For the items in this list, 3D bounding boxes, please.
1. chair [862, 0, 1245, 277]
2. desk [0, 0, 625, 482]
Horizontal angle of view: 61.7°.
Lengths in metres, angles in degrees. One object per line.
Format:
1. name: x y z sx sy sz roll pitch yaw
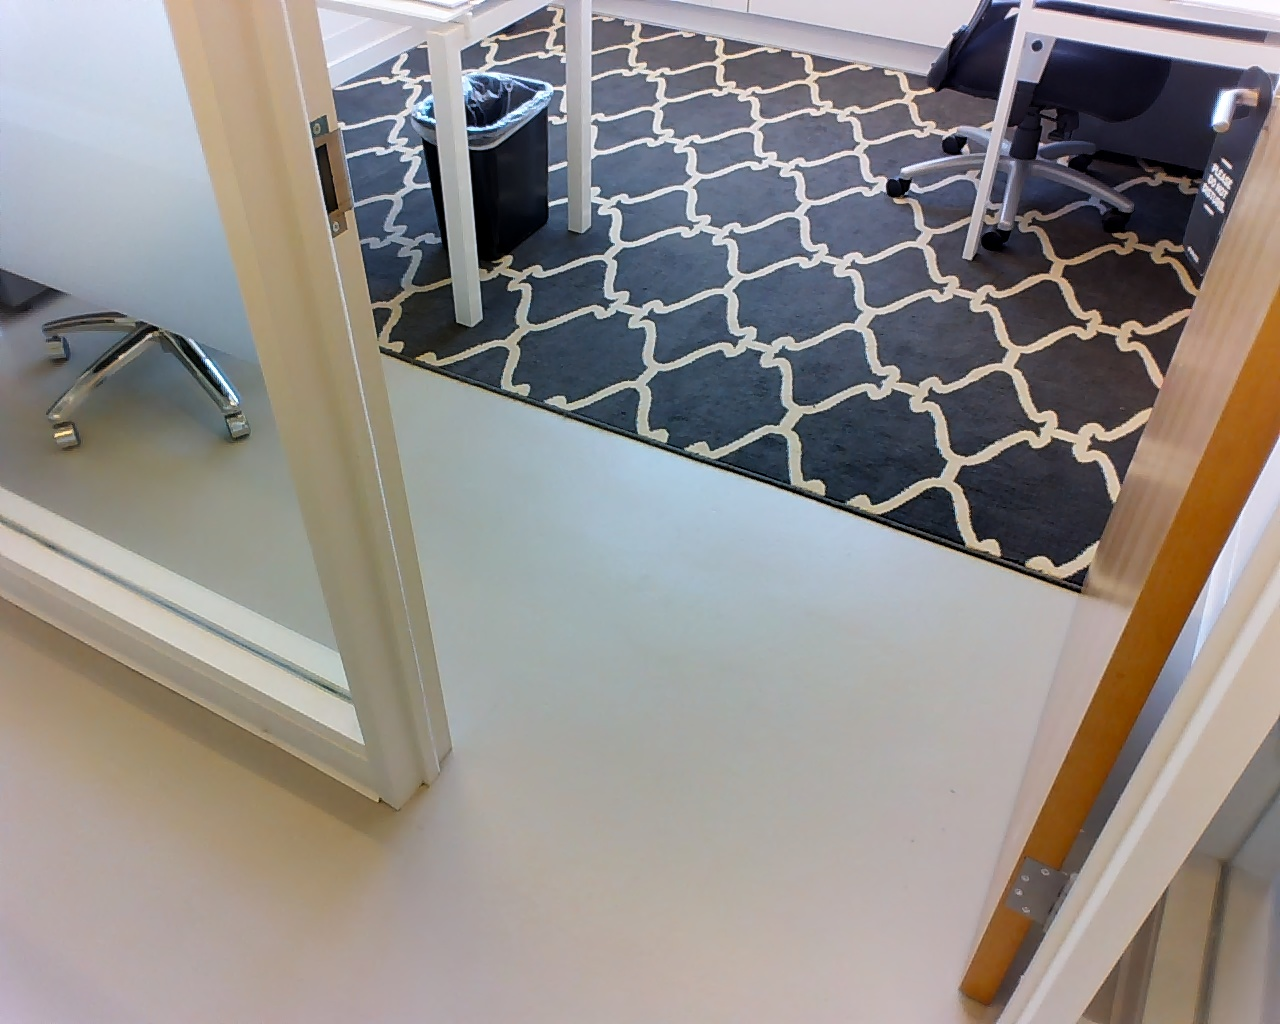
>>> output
1. chair: 1.170 -1.340 2.900 0.790 1.010 0.710 20 46 21
2. desk: -1.070 -1.010 2.730 1.600 0.790 1.350 20 46 21
